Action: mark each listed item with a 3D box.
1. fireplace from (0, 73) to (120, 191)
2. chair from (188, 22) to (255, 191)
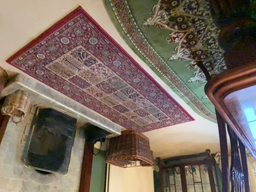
[{"bbox_3d":[-0.770,0.760,1.990,0.730,1.300,1.320,-19,144,29],"label":"fireplace"},{"bbox_3d":[0.790,0.130,1.270,0.530,0.960,0.520,-22,142,32],"label":"chair"}]
